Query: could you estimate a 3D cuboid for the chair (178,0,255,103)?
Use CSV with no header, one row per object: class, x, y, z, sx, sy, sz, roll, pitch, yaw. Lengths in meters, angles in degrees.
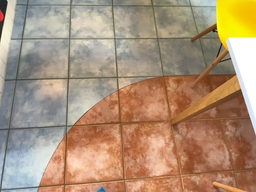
chair,0.630,-0.390,1.160,0.460,0.790,0.540,9,66,-2
